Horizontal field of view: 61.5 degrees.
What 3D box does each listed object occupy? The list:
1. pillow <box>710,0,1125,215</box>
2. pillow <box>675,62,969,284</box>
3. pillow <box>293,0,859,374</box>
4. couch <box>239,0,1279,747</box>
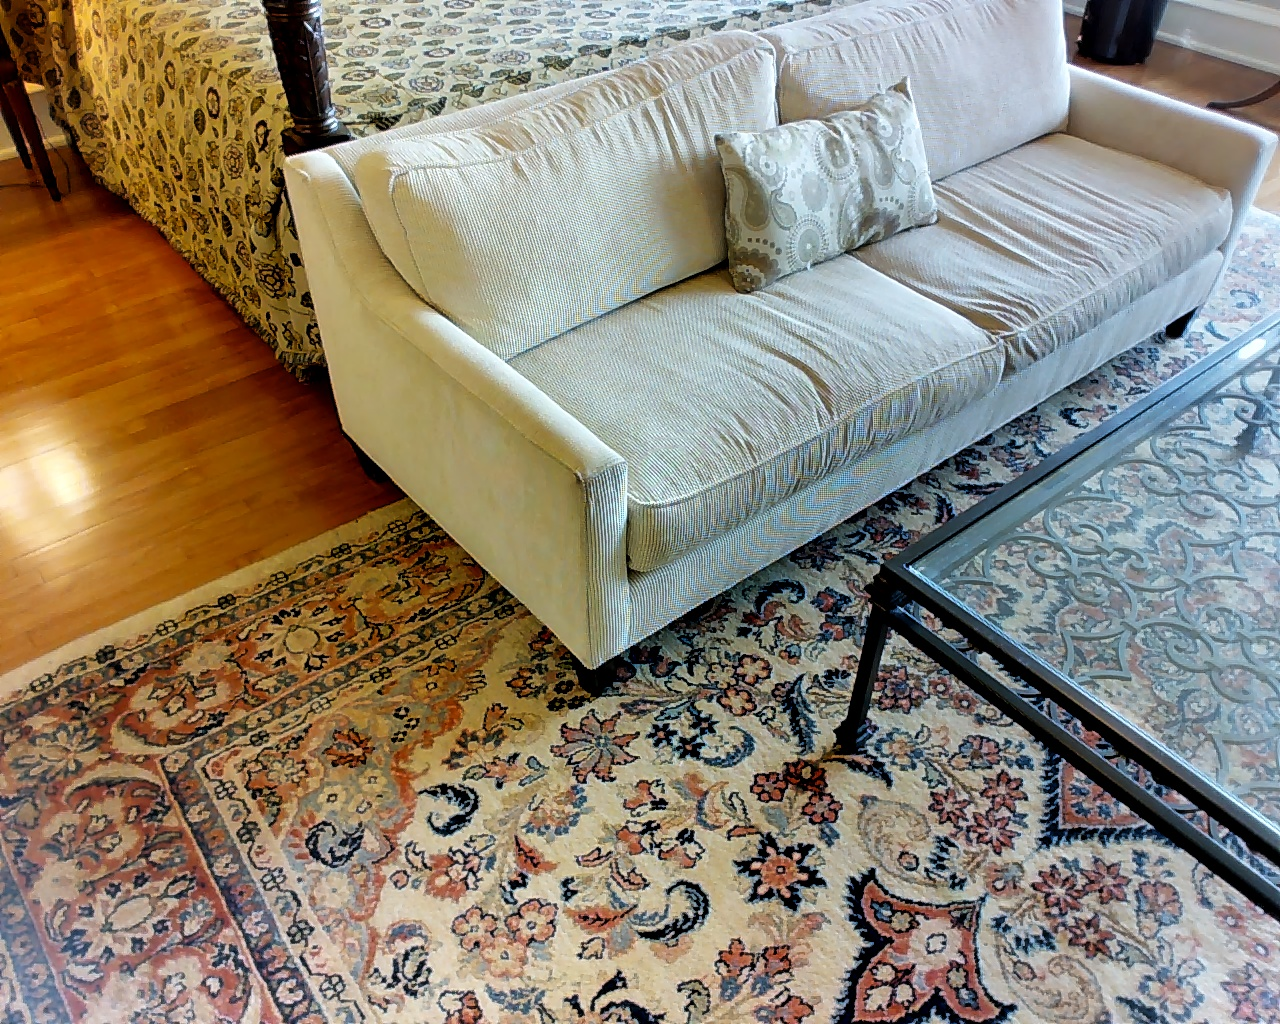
[{"bbox_3d":[0.710,-1.130,2.660,1.080,0.380,0.380,-28,49,-29],"label":"pillow"},{"bbox_3d":[0.420,-0.750,2.360,0.680,0.290,0.150,-27,21,-29],"label":"pillow"},{"bbox_3d":[-0.090,-0.710,2.190,1.050,0.370,0.410,-28,49,-29],"label":"pillow"},{"bbox_3d":[0.470,-0.650,2.500,2.260,0.860,1.070,-29,49,-30],"label":"couch"}]
